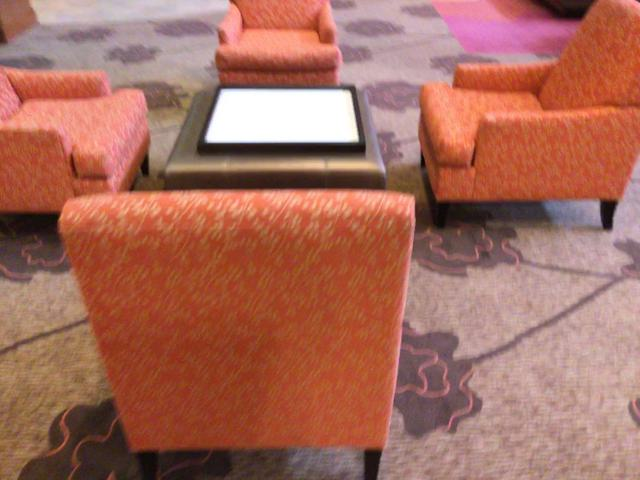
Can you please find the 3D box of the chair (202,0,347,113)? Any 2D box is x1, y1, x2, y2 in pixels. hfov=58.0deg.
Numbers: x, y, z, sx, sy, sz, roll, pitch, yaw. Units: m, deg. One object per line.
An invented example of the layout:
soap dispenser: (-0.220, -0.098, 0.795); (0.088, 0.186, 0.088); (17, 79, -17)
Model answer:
chair: (-0.250, -1.380, 3.590); (0.750, 0.870, 0.840); (-4, 31, 3)

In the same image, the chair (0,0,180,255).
chair: (-1.230, -0.560, 2.510); (0.900, 0.960, 0.770); (-5, 31, 2)

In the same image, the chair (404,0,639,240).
chair: (0.900, -0.620, 2.620); (0.920, 0.890, 0.790); (-4, 31, 2)
